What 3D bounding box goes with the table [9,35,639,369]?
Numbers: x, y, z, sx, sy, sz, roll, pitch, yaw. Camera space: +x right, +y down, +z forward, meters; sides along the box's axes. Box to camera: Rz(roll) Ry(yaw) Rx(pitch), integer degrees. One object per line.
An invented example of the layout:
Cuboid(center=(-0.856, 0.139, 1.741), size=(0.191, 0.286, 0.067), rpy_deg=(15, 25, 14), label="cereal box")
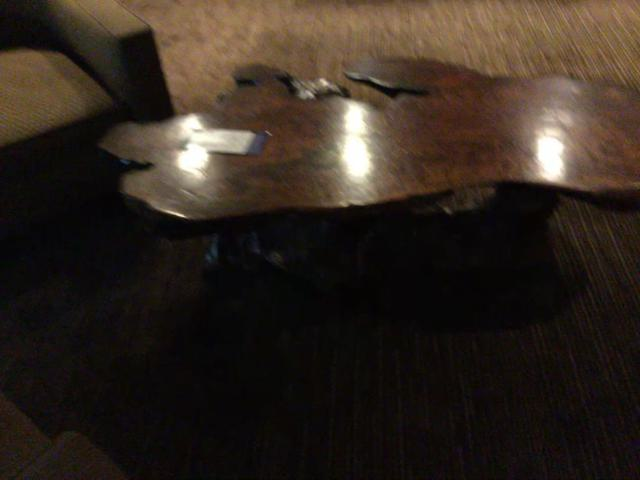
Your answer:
Cuboid(center=(0.190, -0.150, 1.670), size=(1.650, 0.460, 0.910), rpy_deg=(0, 43, 4), label="table")
